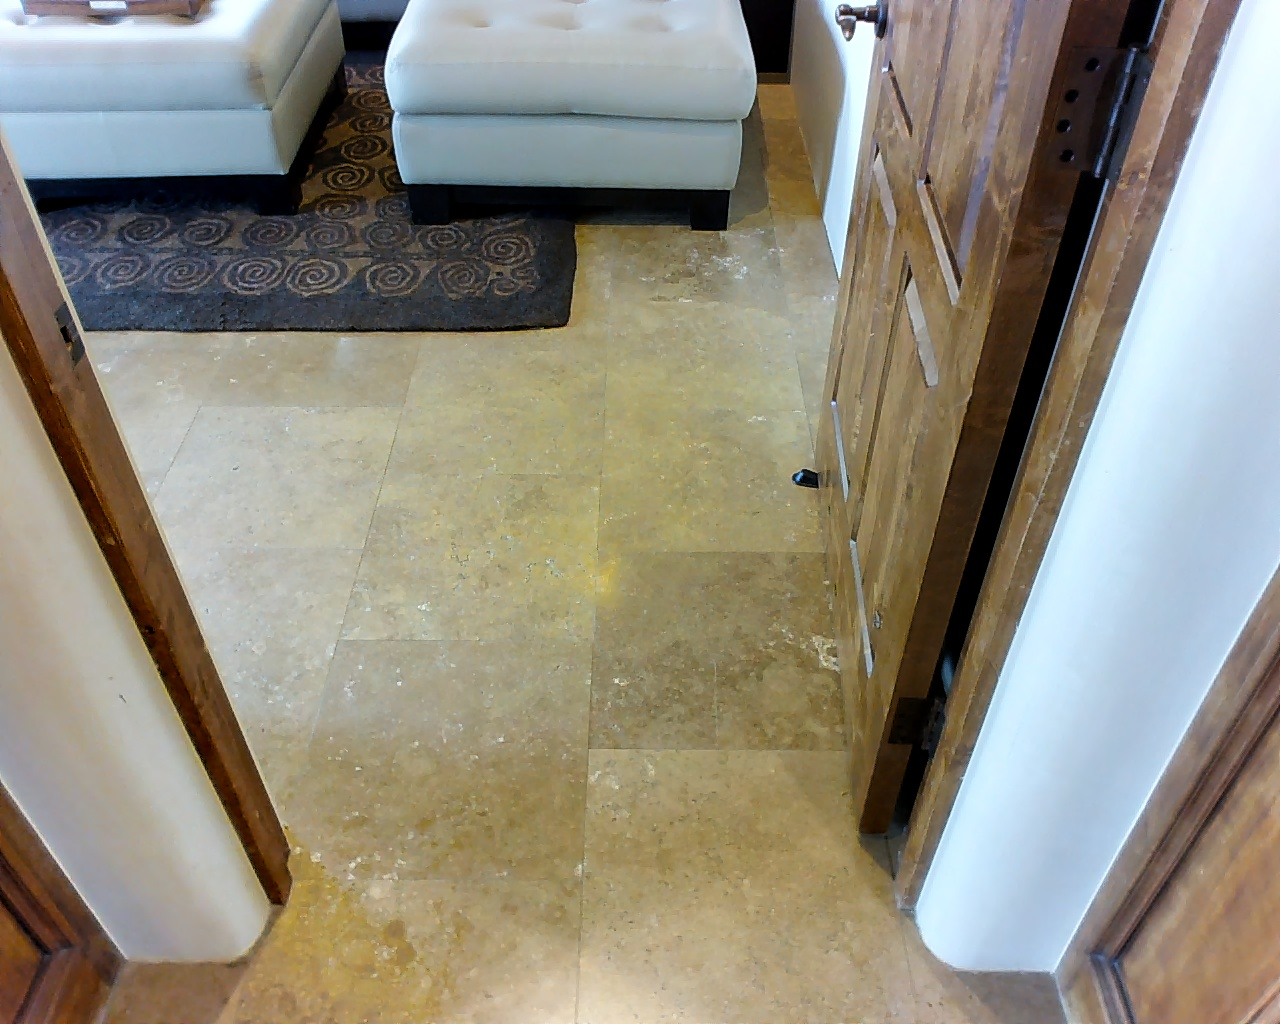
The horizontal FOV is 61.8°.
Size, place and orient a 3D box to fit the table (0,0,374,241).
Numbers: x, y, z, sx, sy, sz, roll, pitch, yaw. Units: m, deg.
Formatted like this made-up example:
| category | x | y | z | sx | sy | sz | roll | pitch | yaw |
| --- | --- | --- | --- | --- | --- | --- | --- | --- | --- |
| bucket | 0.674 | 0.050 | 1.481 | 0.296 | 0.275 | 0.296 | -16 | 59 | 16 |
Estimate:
| category | x | y | z | sx | sy | sz | roll | pitch | yaw |
| --- | --- | --- | --- | --- | --- | --- | --- | --- | --- |
| table | -1.440 | -1.290 | 3.180 | 1.030 | 0.510 | 1.030 | 0 | 42 | 0 |
